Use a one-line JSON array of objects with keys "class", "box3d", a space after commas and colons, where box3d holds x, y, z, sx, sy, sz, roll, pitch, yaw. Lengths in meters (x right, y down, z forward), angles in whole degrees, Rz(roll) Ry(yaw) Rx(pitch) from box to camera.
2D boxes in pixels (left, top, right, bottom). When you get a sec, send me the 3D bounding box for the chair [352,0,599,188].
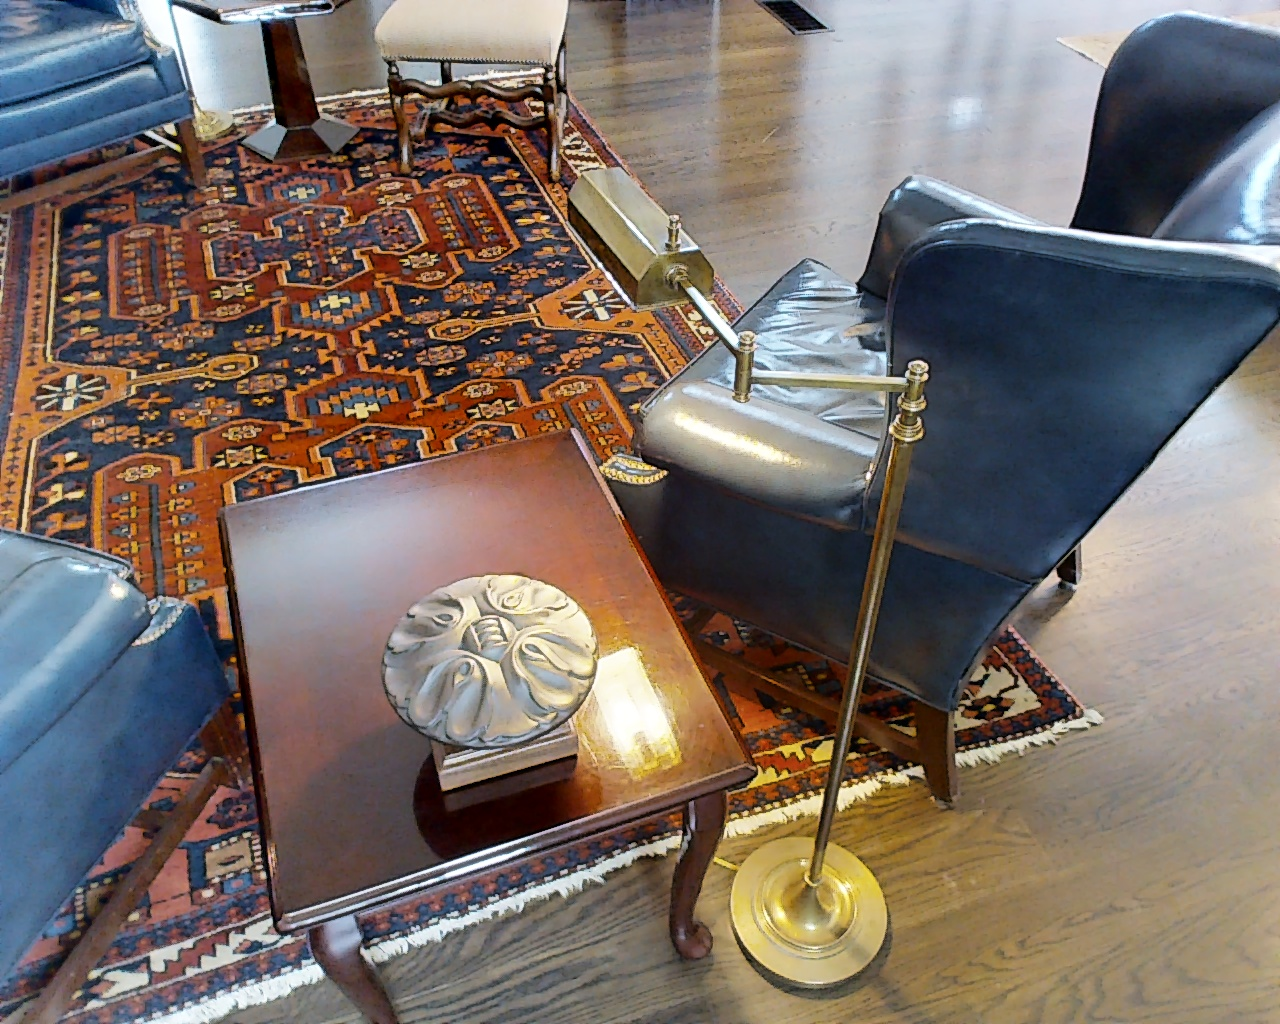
[{"class": "chair", "box3d": [-0.470, -1.630, 3.170, 0.590, 1.100, 0.630, 4, 43, 5]}]
